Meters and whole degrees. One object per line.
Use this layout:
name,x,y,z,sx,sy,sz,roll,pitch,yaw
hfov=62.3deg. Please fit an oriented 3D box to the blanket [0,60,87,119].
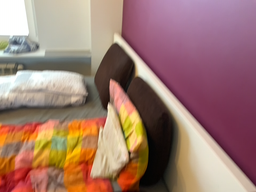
blanket,-0.820,-0.080,1.770,0.870,0.230,0.550,-5,31,-17

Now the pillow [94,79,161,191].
pillow,-0.050,0.180,1.190,0.240,0.330,0.580,-2,30,-12

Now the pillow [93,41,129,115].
pillow,-0.170,-0.170,1.820,0.220,0.470,0.460,-3,30,-14
